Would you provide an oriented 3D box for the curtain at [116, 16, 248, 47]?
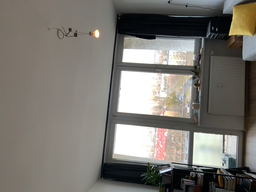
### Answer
[{"bbox_3d":[0.950,-1.200,3.970,0.370,2.310,0.310,69,-154,-78],"label":"curtain"}]
